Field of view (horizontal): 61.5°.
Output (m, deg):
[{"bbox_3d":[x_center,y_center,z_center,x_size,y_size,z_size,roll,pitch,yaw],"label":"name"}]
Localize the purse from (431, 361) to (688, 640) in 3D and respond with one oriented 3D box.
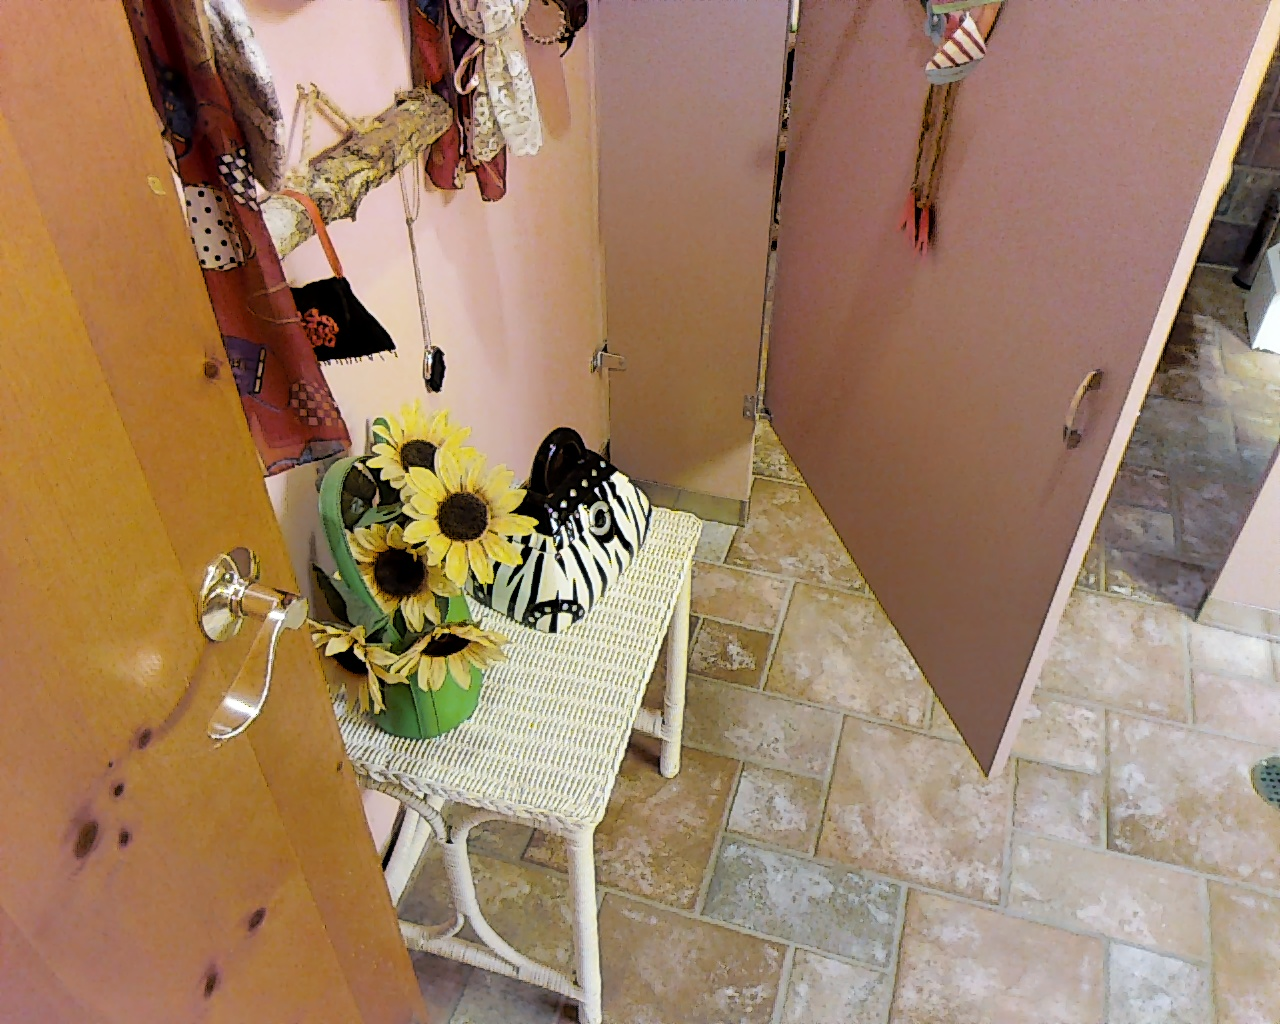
[{"bbox_3d":[-0.090,-0.020,1.380,0.150,0.230,0.270,3,40,31],"label":"purse"}]
